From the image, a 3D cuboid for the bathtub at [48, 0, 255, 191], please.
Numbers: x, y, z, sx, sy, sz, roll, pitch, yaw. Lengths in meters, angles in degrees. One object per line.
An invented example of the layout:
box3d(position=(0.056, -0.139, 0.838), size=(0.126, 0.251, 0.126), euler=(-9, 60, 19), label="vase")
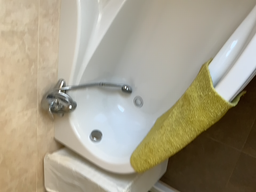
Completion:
box3d(position=(0.220, -0.290, 1.020), size=(0.980, 0.610, 1.510), euler=(22, 114, 27), label="bathtub")
